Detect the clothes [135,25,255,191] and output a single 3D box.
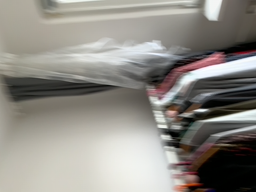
[{"bbox_3d":[0.640,0.150,1.290,1.380,1.010,0.620,-101,7,-51],"label":"clothes"}]
